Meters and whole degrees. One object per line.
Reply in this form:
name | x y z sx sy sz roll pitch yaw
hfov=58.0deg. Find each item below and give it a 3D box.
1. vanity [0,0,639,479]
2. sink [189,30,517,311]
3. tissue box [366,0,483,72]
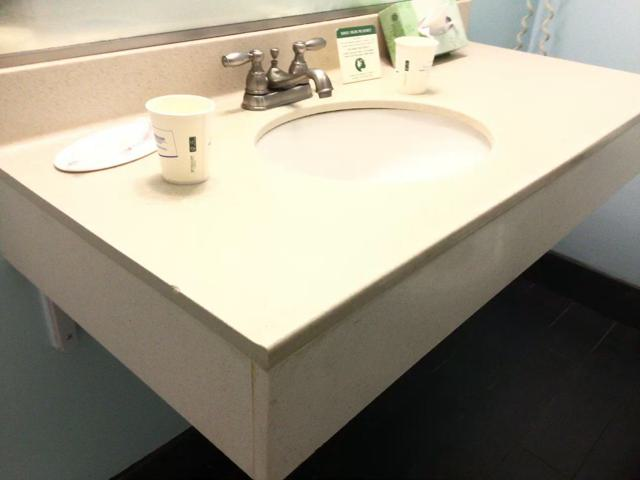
vanity | 0.170 -0.190 0.990 0.570 0.330 1.240 26 37 35
sink | 0.050 -0.150 0.950 0.340 0.290 0.370 26 37 35
tissue box | 0.230 -0.460 1.260 0.110 0.130 0.260 26 37 35
